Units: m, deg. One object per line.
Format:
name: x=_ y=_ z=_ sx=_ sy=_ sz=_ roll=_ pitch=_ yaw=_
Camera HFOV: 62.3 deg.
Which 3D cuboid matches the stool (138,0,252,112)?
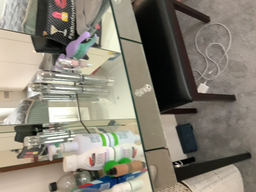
stool: x=0.380 y=-0.230 z=1.180 sx=0.200 sy=0.530 sz=0.590 roll=-29 pitch=67 yaw=45
